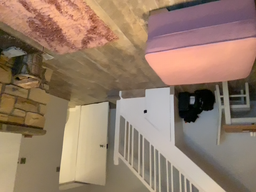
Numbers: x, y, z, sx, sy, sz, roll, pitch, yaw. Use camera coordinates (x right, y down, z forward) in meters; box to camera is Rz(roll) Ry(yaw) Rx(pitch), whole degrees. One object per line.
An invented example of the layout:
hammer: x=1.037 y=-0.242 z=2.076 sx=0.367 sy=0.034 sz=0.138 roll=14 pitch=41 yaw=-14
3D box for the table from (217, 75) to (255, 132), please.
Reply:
table: x=1.920 y=0.160 z=3.410 sx=0.820 sy=0.760 sz=0.810 roll=-5 pitch=164 yaw=25

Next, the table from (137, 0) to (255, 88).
table: x=0.620 y=-0.430 z=1.870 sx=0.830 sy=0.440 sz=0.850 roll=-4 pitch=165 yaw=21
